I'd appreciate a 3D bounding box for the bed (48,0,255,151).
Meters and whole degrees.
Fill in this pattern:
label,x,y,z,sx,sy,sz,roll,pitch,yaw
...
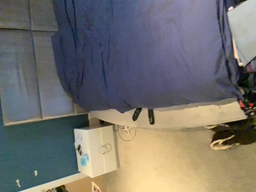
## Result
label,x,y,z,sx,sy,sz,roll,pitch,yaw
bed,-0.120,-0.880,1.960,2.280,0.490,2.370,-8,89,54
